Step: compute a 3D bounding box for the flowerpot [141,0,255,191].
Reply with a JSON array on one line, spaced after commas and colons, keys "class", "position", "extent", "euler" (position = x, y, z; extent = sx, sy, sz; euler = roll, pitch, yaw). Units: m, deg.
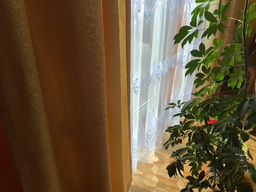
[{"class": "flowerpot", "position": [0.410, 0.250, 1.150], "extent": [0.440, 1.620, 0.560], "euler": [18, 34, 27]}]
